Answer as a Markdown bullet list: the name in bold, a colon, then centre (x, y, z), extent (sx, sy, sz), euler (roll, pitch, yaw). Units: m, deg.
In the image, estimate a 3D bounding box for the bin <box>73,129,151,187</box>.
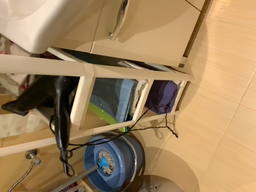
- **bin**: centre (-0.090, 0.360, 1.250), extent (0.300, 0.290, 0.240), euler (-18, 81, 37)
